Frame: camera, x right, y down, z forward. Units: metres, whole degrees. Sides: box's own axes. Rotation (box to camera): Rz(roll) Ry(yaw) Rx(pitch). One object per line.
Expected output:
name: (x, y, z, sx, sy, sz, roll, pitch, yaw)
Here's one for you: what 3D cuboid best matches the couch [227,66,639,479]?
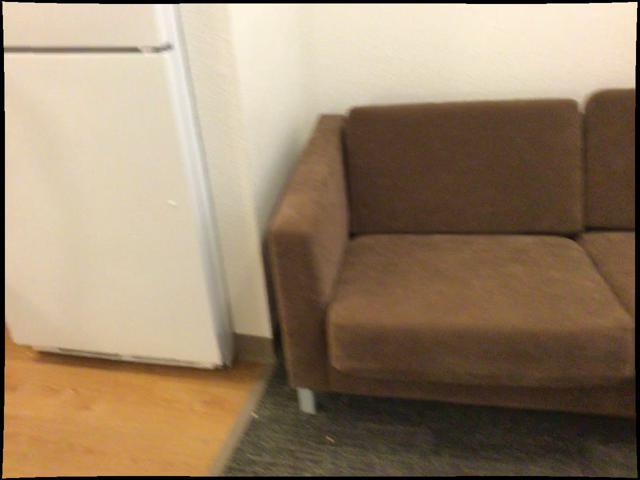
couch: (0.778, 0.030, 1.700, 1.746, 0.791, 1.021, 2, 32, 12)
